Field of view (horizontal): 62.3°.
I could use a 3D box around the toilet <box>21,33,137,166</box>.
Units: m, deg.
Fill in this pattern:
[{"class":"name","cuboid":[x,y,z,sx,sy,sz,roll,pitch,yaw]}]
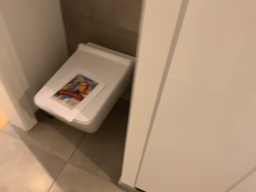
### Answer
[{"class":"toilet","cuboid":[-0.240,0.010,1.300,0.350,0.470,0.570,21,50,12]}]
